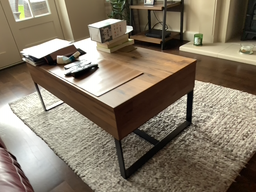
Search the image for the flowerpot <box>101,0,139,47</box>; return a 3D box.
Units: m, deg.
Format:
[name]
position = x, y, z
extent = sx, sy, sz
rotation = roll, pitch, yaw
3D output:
[flowerpot]
position = -0.120, -1.200, 3.070
extent = 0.360, 0.840, 0.330
rotation = -31, 38, -34
